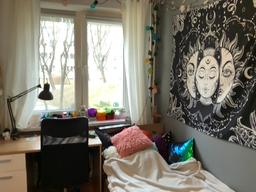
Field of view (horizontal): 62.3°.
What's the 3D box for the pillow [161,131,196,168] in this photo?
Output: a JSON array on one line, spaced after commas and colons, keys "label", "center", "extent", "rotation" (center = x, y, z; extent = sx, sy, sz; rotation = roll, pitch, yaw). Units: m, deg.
[{"label": "pillow", "center": [0.570, 0.600, 2.460], "extent": [0.210, 0.280, 0.410], "rotation": [-1, 7, -17]}]
